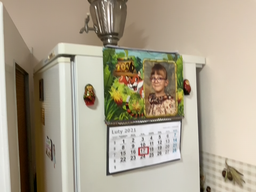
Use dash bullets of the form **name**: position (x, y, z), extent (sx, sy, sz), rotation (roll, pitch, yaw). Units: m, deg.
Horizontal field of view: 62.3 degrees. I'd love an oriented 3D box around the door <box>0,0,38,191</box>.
- **door**: position (-0.480, 0.660, 0.990), extent (0.110, 2.020, 0.790), rotation (-2, 1, -23)
